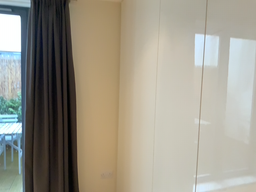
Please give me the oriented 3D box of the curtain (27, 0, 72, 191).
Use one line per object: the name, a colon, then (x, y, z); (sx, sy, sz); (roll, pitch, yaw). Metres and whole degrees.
curtain: (-0.770, 0.180, 2.130); (0.380, 2.410, 0.240); (0, 6, -16)
